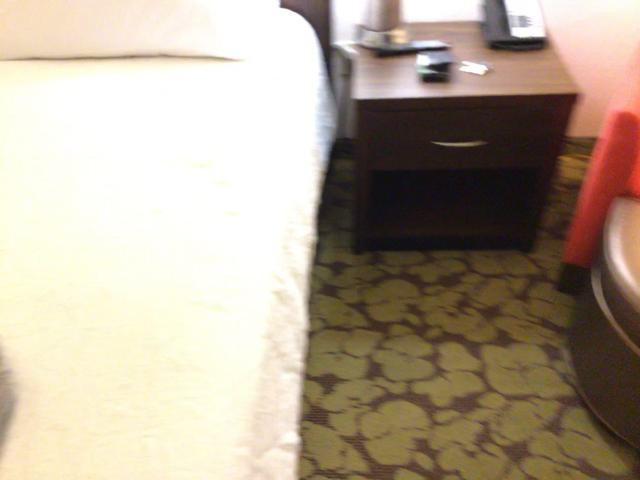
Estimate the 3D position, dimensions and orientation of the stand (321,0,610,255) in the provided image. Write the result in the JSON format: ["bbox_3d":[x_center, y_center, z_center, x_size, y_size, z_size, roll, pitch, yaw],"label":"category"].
[{"bbox_3d":[0.390,-0.460,1.840,0.670,0.840,0.570,-2,43,6],"label":"stand"}]
